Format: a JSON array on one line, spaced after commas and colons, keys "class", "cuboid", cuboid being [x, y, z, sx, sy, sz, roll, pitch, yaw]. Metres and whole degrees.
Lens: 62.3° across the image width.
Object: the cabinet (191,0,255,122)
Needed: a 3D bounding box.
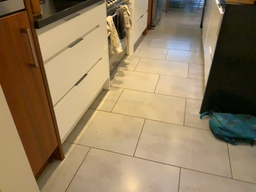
[{"class": "cabinet", "cuboid": [1.320, -0.950, 2.780, 0.660, 0.960, 2.800, 10, 35, 13]}]
